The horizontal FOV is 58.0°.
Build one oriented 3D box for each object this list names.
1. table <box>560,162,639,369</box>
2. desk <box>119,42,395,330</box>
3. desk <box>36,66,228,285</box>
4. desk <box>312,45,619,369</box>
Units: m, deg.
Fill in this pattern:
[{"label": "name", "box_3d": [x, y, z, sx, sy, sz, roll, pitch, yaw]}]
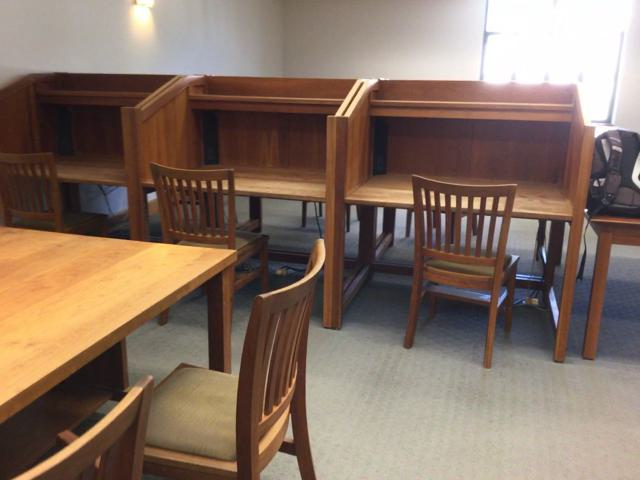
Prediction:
[{"label": "table", "box_3d": [1.870, 0.060, 3.100, 0.960, 0.800, 1.250, 0, 15, 18]}, {"label": "desk", "box_3d": [-0.280, -0.350, 3.520, 1.260, 1.450, 0.970, 0, 15, 18]}, {"label": "desk", "box_3d": [-1.120, -0.410, 3.600, 0.760, 1.220, 0.620, 0, 14, 18]}, {"label": "desk", "box_3d": [0.810, -0.240, 3.260, 1.330, 1.450, 1.110, 0, 15, 18]}]
